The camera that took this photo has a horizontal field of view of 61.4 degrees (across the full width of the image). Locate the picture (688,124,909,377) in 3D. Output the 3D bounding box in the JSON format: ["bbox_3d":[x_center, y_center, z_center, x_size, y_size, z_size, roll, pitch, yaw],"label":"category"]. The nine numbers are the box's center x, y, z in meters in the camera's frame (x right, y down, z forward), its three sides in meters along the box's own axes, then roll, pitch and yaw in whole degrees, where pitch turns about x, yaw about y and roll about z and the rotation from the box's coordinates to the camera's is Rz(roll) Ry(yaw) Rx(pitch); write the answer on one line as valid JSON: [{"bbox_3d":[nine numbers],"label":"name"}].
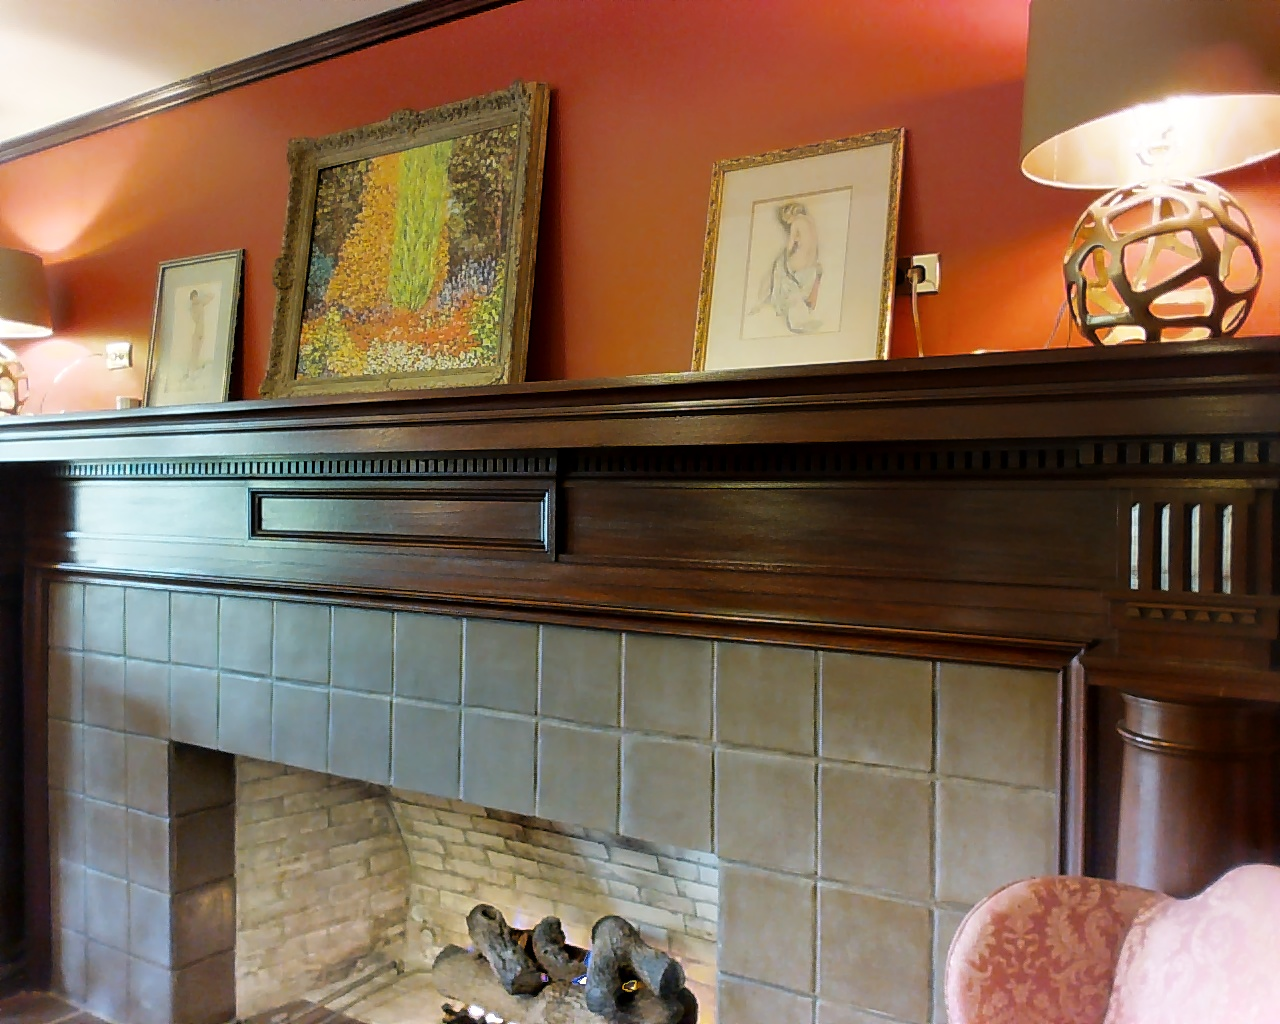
[{"bbox_3d":[0.290,-0.470,2.010,0.400,0.410,0.060,1,9,33],"label":"picture"}]

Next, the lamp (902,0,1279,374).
[{"bbox_3d":[0.710,-0.480,1.490,0.500,0.360,0.340,-25,-13,30],"label":"lamp"}]

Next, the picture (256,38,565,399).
[{"bbox_3d":[-0.560,-0.640,2.530,0.840,0.710,0.080,1,8,33],"label":"picture"}]

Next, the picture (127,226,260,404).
[{"bbox_3d":[-1.260,-0.540,3.030,0.470,0.450,0.050,1,7,33],"label":"picture"}]
